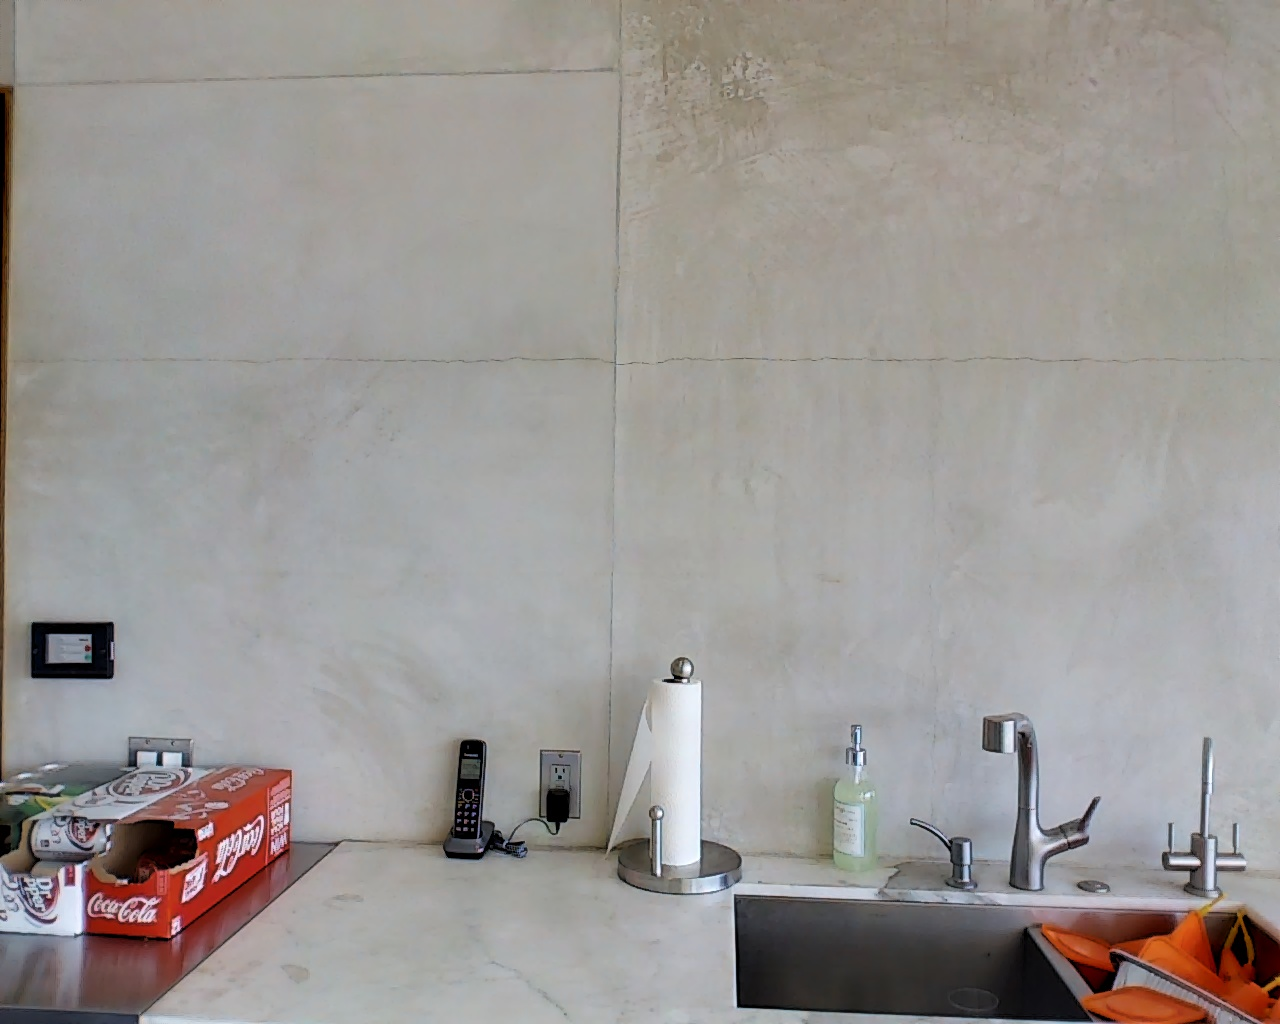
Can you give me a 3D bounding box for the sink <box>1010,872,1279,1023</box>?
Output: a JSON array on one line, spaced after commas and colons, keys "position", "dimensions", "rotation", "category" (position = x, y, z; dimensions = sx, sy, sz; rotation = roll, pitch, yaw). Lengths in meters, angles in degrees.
[{"position": [0.730, 0.590, 1.400], "dimensions": [0.380, 0.080, 0.430], "rotation": [1, 0, 6], "category": "sink"}]
